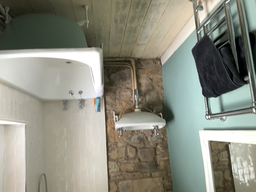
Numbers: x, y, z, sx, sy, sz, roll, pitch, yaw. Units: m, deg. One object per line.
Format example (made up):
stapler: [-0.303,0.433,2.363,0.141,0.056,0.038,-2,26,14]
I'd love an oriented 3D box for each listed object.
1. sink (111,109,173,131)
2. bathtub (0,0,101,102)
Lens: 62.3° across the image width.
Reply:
sink: [0.140,0.280,2.460,0.640,0.200,0.410,-3,172,-8]
bathtub: [-0.600,-0.330,1.810,0.710,0.540,1.660,-3,172,-8]
